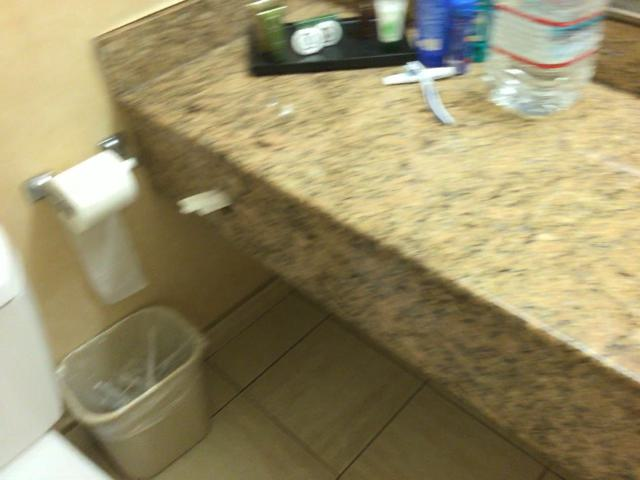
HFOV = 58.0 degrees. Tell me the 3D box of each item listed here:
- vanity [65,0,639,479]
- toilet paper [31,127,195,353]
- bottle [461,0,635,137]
[{"bbox_3d":[0.360,-0.020,0.830,1.500,0.420,0.600,30,50,31],"label":"vanity"},{"bbox_3d":[-0.380,0.010,1.120,0.120,0.400,0.170,30,50,31],"label":"toilet paper"},{"bbox_3d":[0.360,-0.330,0.900,0.160,0.230,0.210,30,50,31],"label":"bottle"}]
